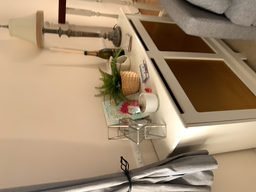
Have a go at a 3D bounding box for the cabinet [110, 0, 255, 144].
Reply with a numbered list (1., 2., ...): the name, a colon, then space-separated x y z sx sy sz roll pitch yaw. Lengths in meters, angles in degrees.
1. cabinet: 0.430 -0.300 1.540 0.220 0.840 1.280 110 151 -42
